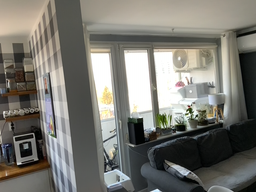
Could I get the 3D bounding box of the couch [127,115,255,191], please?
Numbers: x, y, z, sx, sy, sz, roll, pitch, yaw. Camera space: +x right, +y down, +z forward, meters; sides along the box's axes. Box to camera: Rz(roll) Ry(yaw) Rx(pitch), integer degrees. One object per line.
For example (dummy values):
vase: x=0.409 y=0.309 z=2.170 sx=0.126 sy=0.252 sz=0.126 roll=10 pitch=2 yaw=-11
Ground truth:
couch: x=1.420 y=0.960 z=3.240 sx=2.530 sy=0.870 sz=1.210 roll=-7 pitch=4 yaw=-31
